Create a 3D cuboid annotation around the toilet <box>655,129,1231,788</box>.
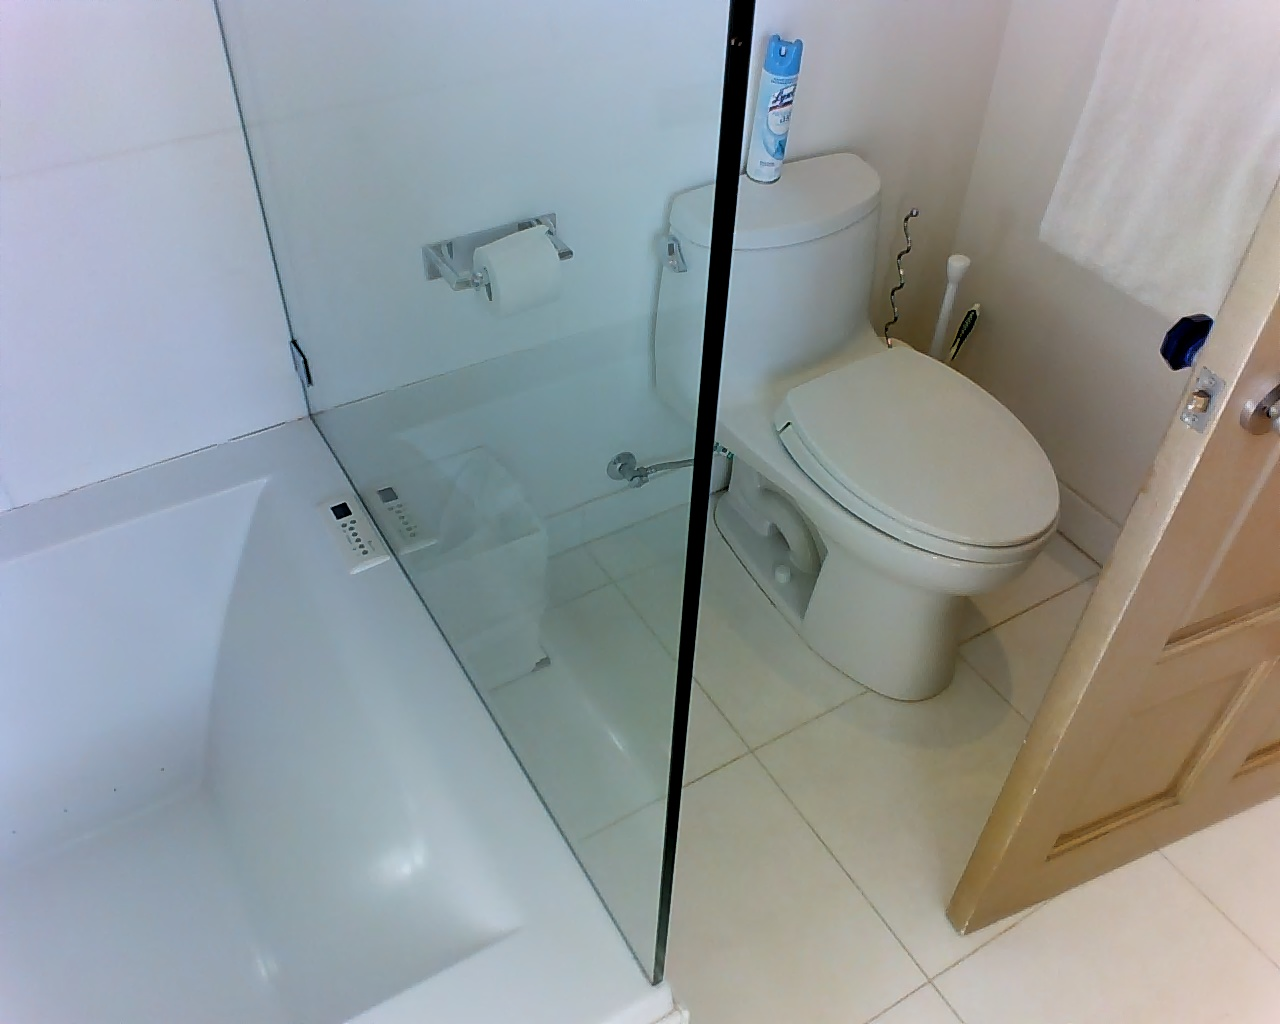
[{"bbox_3d":[0.410,-0.110,1.850,0.430,0.750,0.750,-21,47,-22],"label":"toilet"}]
